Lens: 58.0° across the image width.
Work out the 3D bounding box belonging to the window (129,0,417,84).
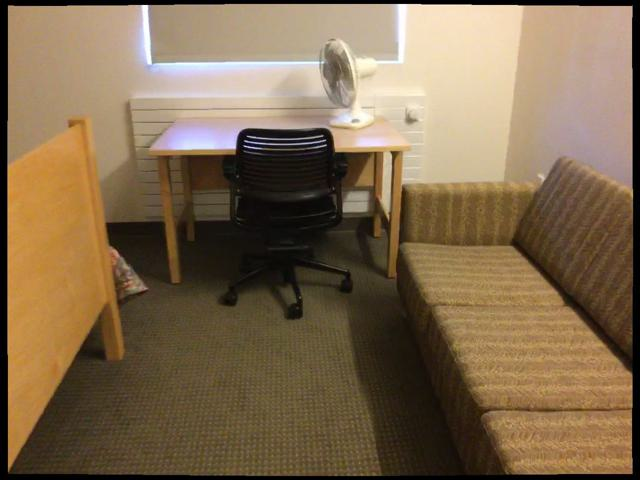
[{"bbox_3d":[-0.250,-1.363,3.210,1.577,0.911,0.130,-2,23,-3],"label":"window"}]

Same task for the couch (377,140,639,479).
[{"bbox_3d":[0.848,0.341,1.790,1.008,0.821,2.021,-2,23,-3],"label":"couch"}]
